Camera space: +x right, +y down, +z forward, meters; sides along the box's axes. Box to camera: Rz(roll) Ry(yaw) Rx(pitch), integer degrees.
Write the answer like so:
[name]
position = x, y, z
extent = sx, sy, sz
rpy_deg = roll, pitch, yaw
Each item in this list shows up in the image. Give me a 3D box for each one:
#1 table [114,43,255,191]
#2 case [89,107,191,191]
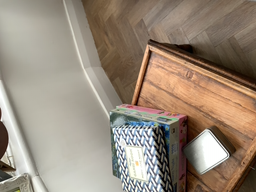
[table]
position = 0.220, 0.100, 0.780
extent = 0.460, 0.230, 0.460
rpy_deg = 32, 122, 36
[case]
position = 0.030, 0.190, 0.730
extent = 0.300, 0.140, 0.270
rpy_deg = -1, 100, 46
